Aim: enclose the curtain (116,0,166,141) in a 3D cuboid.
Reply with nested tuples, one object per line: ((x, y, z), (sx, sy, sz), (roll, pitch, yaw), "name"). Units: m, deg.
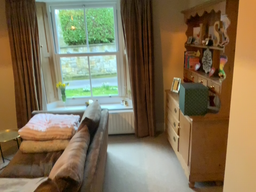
((0.210, -0.420, 3.310), (0.680, 2.310, 0.250), (-2, 16, -1), "curtain")

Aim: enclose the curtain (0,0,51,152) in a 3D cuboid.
((-1.610, -0.260, 3.170), (0.540, 2.260, 0.270), (-3, 16, -2), "curtain")

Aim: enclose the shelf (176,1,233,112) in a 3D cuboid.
((0.840, -0.490, 2.570), (0.190, 1.060, 1.030), (-3, 16, -4), "shelf")
